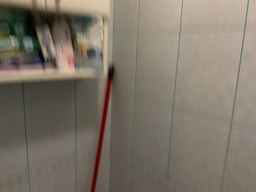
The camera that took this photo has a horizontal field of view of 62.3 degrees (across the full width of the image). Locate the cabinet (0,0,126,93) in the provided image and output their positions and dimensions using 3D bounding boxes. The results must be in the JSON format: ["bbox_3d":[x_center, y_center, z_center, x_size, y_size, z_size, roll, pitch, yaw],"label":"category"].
[{"bbox_3d":[-0.290,-0.470,0.710,0.550,0.860,0.240,-8,16,-39],"label":"cabinet"}]
